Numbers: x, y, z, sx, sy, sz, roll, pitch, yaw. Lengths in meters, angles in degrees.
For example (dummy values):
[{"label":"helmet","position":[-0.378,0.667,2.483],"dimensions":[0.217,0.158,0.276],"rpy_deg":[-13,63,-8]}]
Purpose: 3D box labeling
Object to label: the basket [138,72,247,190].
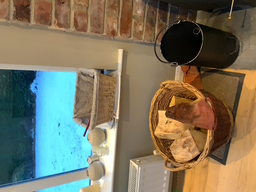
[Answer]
[{"label":"basket","position":[0.380,0.160,1.360],"dimensions":[0.490,0.360,0.580],"rpy_deg":[16,105,55]}]
